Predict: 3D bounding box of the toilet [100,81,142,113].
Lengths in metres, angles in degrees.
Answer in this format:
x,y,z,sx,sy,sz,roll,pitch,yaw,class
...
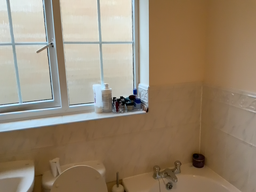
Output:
x,y,z,sx,sy,sz,roll,pitch,yaw,class
-0.050,0.000,1.570,0.270,0.180,0.150,-6,14,-22,toilet
